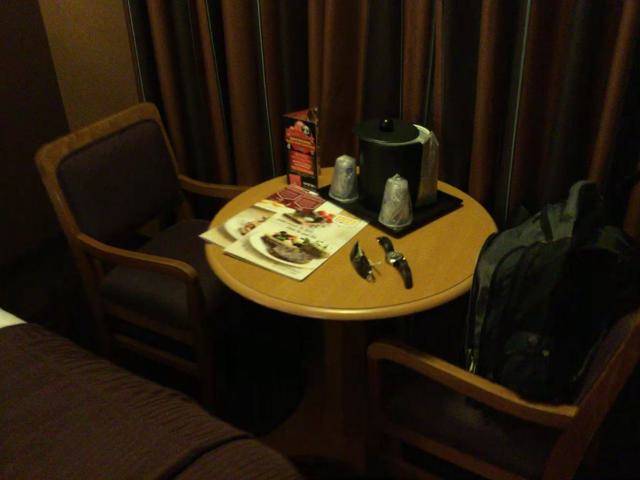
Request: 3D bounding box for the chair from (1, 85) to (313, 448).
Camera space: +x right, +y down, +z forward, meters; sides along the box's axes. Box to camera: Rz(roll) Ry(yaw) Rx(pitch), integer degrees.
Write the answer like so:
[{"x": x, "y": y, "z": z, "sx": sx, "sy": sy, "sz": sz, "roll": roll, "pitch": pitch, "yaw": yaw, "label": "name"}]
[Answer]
[{"x": -0.460, "y": 0.040, "z": 1.910, "sx": 0.570, "sy": 0.910, "sz": 0.620, "roll": 15, "pitch": 33, "yaw": 30, "label": "chair"}]
